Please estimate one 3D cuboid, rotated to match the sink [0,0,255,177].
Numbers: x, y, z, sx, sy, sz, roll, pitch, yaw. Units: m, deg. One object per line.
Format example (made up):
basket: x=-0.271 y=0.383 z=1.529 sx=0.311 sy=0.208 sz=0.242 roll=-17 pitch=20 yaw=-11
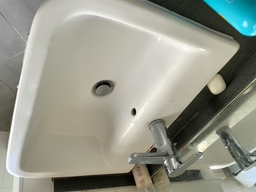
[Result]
sink: x=-0.060 y=-0.010 z=0.550 sx=0.430 sy=0.150 sz=0.580 roll=8 pitch=132 yaw=-31
